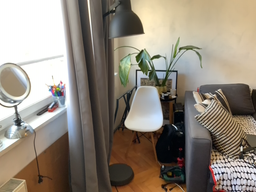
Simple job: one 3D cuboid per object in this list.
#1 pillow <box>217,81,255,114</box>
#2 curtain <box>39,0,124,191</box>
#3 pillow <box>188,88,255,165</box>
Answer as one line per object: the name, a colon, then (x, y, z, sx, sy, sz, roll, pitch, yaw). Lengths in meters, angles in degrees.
pillow: (1.430, 0.020, 2.800, 0.390, 0.360, 0.230, 3, 42, 12)
curtain: (-0.300, -0.150, 1.930, 0.230, 2.150, 1.080, 3, 16, 12)
pillow: (0.950, 0.250, 2.370, 0.500, 0.400, 1.090, 4, 17, 15)
